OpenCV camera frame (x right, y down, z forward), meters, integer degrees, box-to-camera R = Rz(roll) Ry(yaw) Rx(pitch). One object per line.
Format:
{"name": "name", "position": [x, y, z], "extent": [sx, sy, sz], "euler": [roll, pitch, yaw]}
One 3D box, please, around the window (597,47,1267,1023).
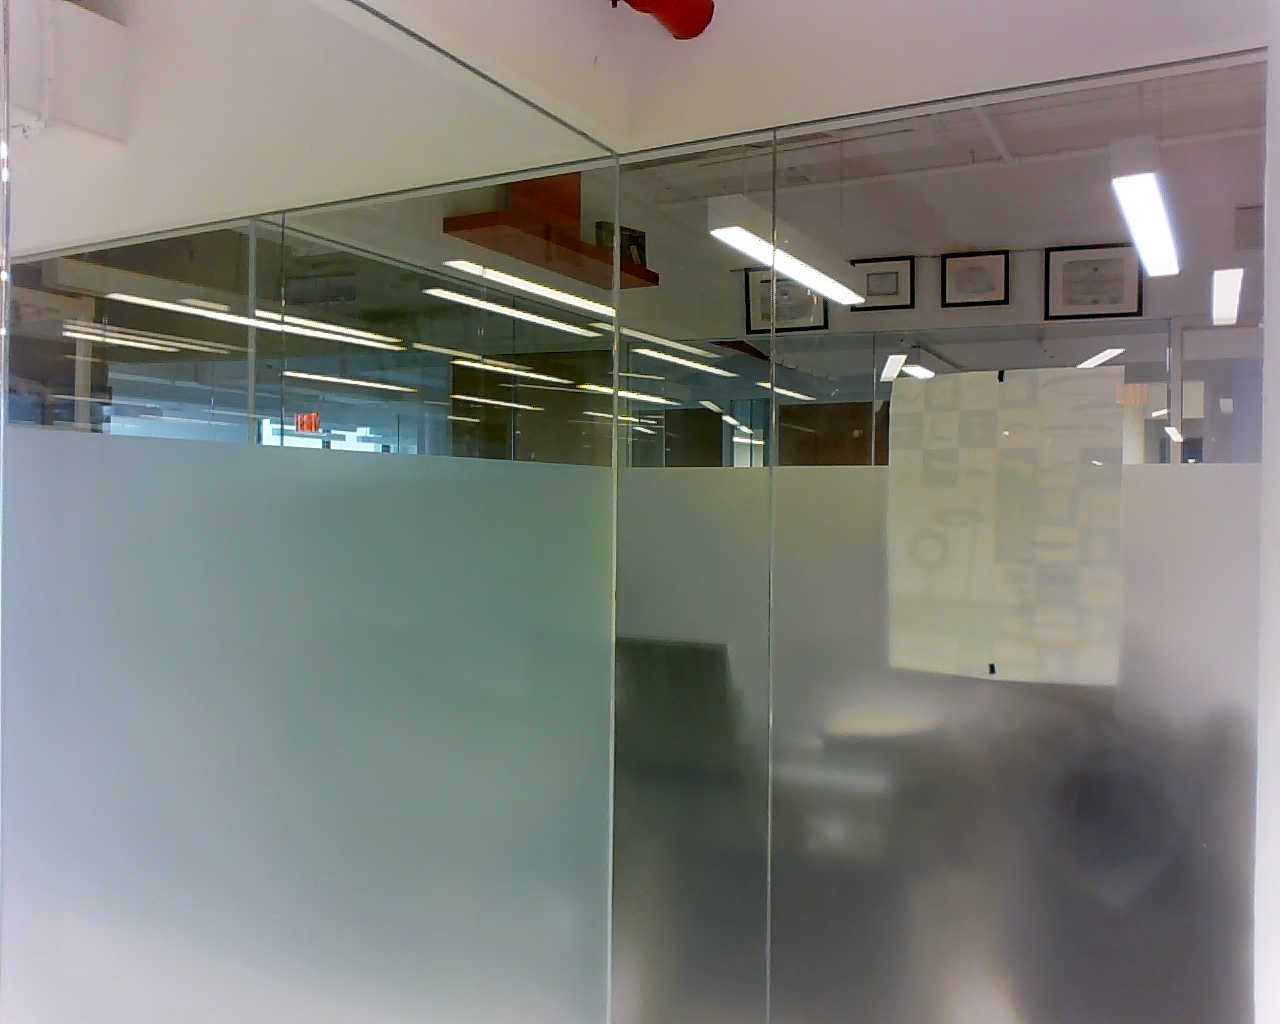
{"name": "window", "position": [0.490, 0.270, 2.070], "extent": [1.220, 2.050, 0.140], "euler": [1, 0, 27]}
